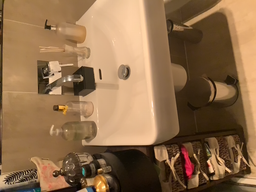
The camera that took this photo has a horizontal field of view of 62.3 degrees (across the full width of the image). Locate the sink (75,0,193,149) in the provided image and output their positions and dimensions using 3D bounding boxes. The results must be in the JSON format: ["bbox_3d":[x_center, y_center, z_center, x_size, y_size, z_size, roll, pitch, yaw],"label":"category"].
[{"bbox_3d":[-0.030,-0.110,0.850,0.480,0.150,0.610,-18,74,51],"label":"sink"}]

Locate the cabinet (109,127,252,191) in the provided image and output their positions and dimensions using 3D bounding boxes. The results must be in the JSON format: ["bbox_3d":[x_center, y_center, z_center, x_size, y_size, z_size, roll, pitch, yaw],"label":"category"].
[{"bbox_3d":[0.290,0.310,1.080,0.310,0.700,0.240,-18,74,51],"label":"cabinet"}]
